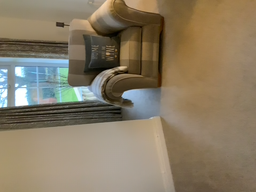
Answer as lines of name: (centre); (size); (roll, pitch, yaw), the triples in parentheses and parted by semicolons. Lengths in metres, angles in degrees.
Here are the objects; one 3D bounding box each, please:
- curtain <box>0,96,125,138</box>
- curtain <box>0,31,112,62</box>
curtain: (-1.160, 0.300, 3.230); (0.220, 2.270, 0.480); (141, 123, -60)
curtain: (-1.350, -0.820, 3.550); (0.140, 2.200, 0.380); (143, 121, -60)
